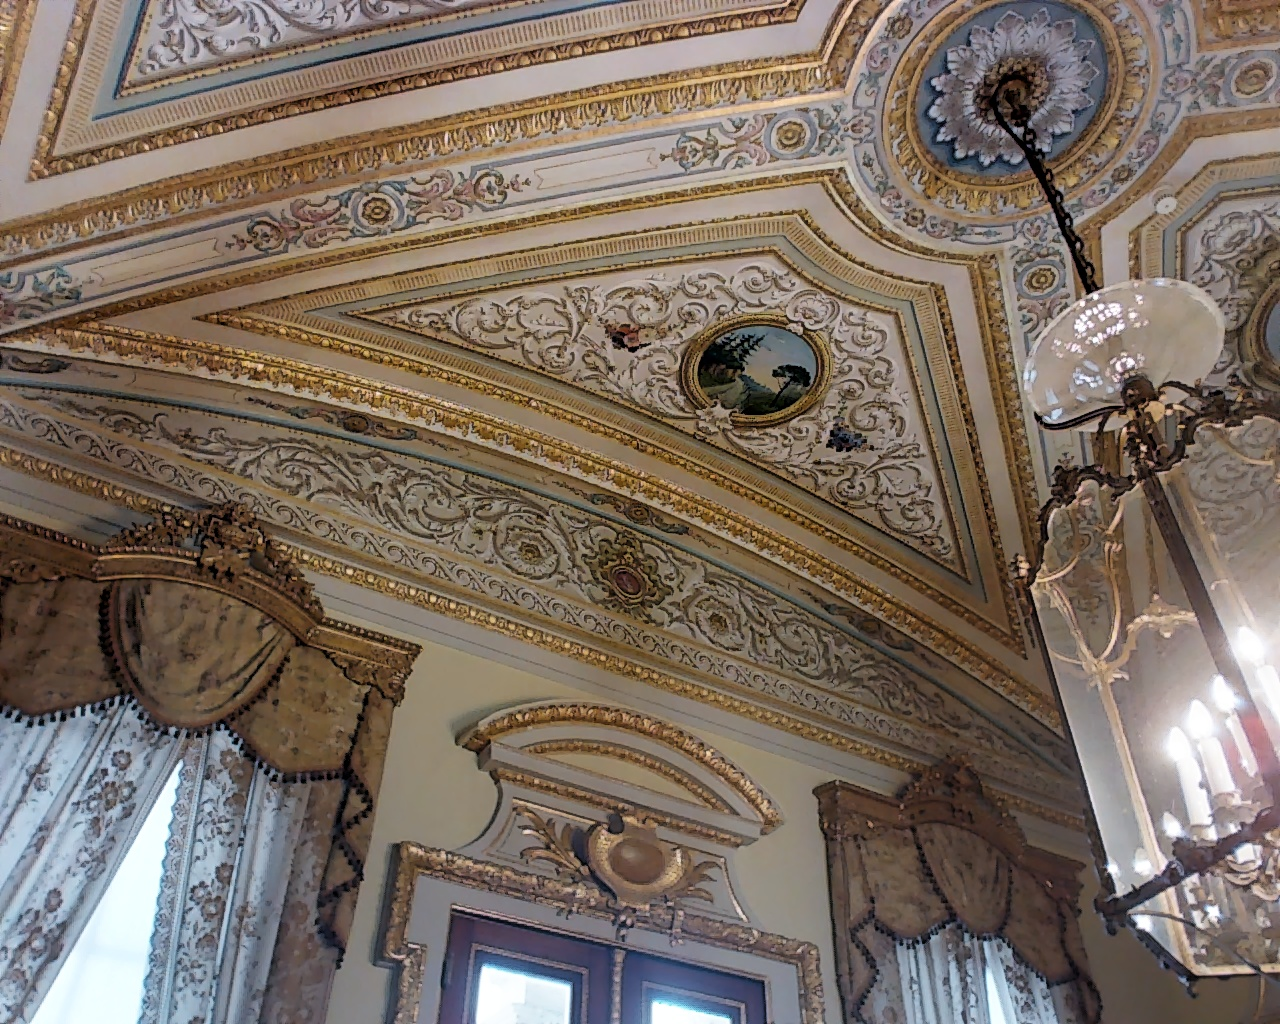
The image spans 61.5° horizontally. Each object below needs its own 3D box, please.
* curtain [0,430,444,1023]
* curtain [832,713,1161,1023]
[{"bbox_3d":[-1.699,1.471,3.290,1.689,3.882,0.200,22,-46,-21],"label":"curtain"},{"bbox_3d":[1.759,3.042,4.400,1.709,4.452,0.210,22,-46,-21],"label":"curtain"}]
